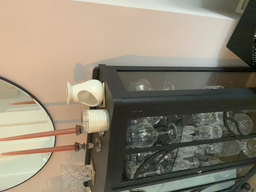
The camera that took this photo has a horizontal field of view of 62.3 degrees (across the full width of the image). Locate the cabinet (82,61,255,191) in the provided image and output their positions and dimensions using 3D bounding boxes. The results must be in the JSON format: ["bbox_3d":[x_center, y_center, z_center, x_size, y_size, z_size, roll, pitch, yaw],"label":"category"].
[{"bbox_3d":[0.380,0.300,1.260,0.370,1.190,0.900,-119,34,-51],"label":"cabinet"}]
